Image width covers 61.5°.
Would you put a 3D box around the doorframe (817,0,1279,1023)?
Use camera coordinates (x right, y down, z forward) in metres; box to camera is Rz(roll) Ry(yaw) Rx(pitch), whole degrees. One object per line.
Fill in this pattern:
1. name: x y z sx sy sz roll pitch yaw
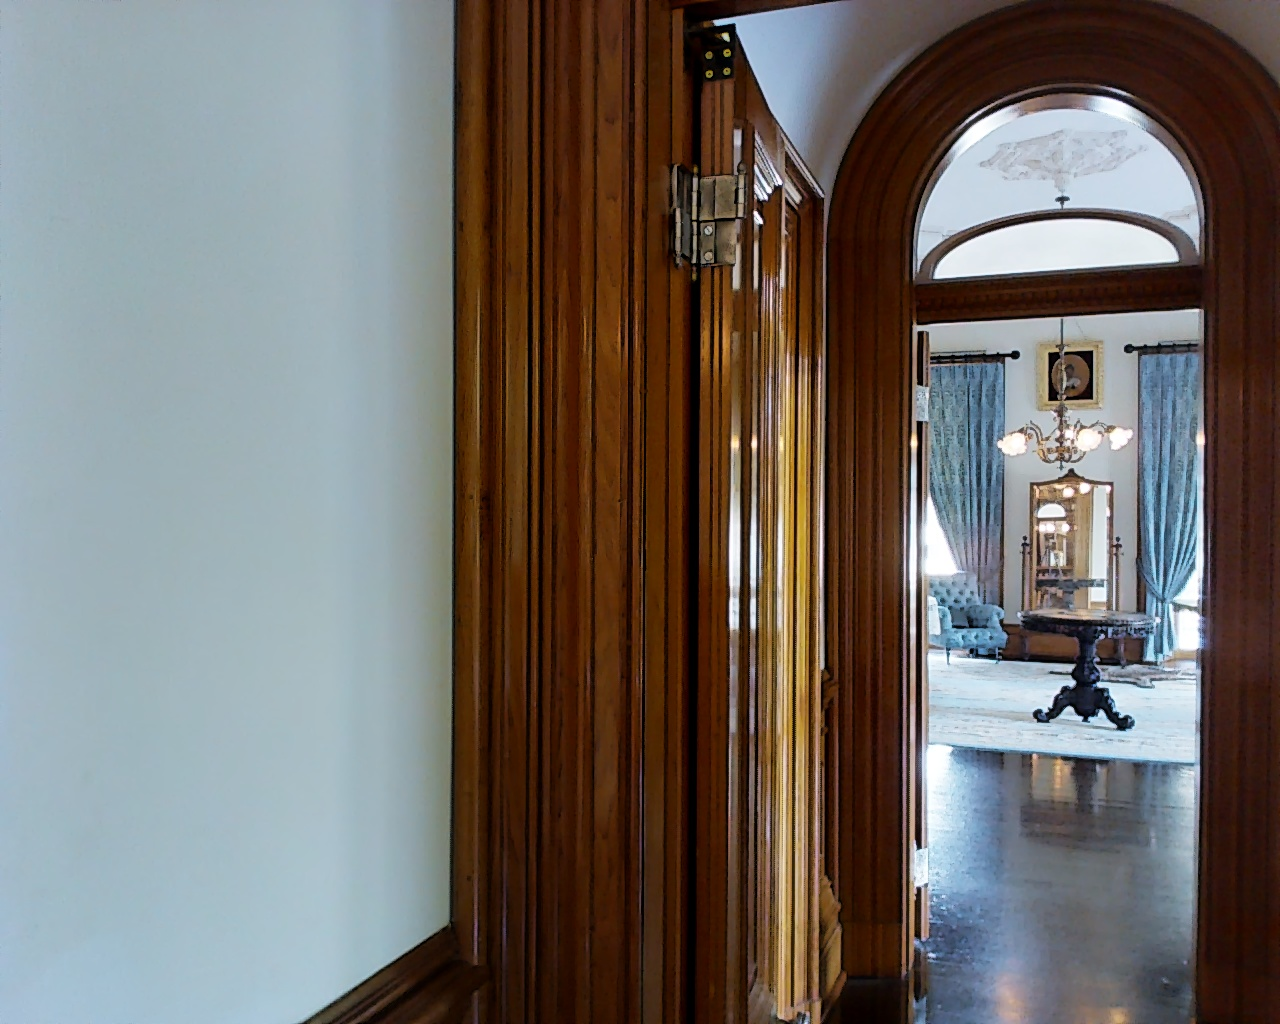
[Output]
1. doorframe: 1.370 -0.060 3.650 1.450 3.210 0.500 0 0 20
